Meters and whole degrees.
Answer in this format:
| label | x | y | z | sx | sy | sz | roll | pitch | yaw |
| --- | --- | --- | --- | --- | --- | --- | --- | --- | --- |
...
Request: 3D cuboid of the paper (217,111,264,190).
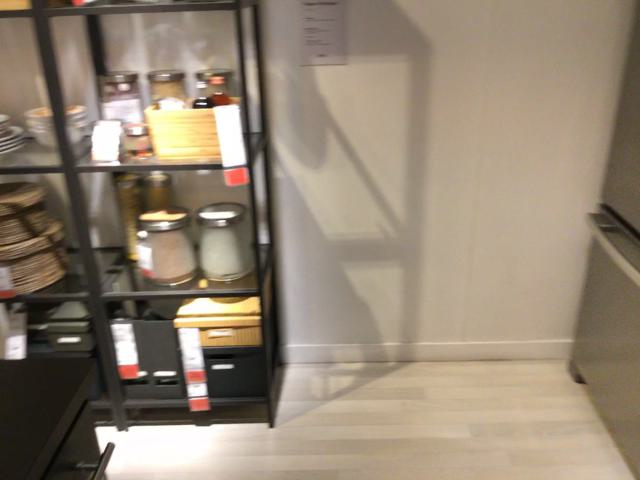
| label | x | y | z | sx | sy | sz | roll | pitch | yaw |
| --- | --- | --- | --- | --- | --- | --- | --- | --- | --- |
| paper | -0.220 | -0.250 | 1.620 | 0.100 | 0.200 | 0.090 | -1 | 24 | 3 |
